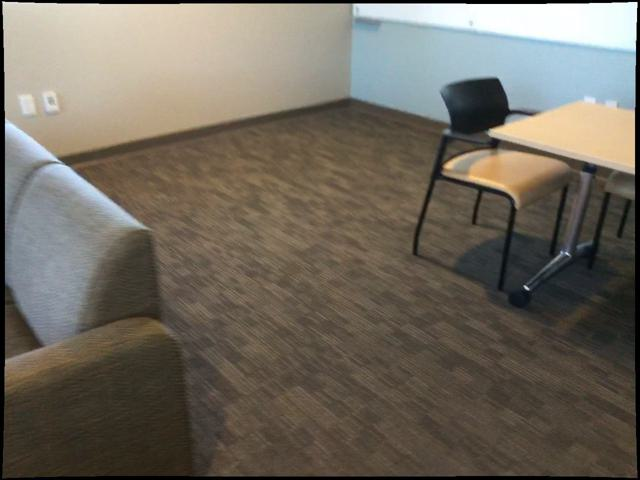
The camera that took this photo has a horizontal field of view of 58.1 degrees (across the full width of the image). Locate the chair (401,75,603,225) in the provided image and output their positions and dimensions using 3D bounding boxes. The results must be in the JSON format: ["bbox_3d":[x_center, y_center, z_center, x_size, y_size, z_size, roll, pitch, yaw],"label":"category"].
[{"bbox_3d":[0.778,-0.431,2.530,0.589,0.411,0.570,-22,34,-34],"label":"chair"}]
